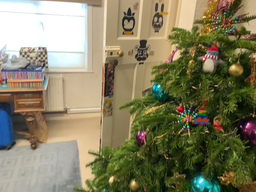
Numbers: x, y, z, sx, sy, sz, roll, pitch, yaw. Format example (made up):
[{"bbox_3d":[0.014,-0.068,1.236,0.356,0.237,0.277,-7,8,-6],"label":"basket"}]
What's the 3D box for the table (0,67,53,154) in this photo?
[{"bbox_3d":[-1.490,0.130,2.480,1.100,0.750,0.800,-2,22,-17],"label":"table"}]
